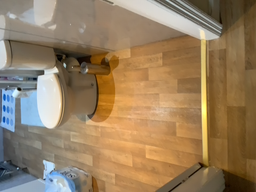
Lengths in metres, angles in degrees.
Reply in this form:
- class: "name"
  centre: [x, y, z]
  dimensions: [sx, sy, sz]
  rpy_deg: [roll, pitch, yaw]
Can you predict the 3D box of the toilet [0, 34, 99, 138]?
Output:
- class: "toilet"
  centre: [-0.690, -0.070, 1.780]
  dimensions: [0.400, 0.830, 0.650]
  rpy_deg: [0, 91, 40]
